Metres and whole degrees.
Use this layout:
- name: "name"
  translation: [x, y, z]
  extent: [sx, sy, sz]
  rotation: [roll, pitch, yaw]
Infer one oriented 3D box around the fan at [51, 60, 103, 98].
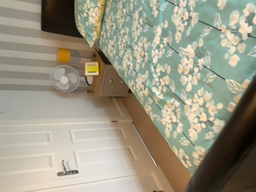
- name: "fan"
  translation: [-0.660, -0.210, 2.700]
  extent: [0.290, 0.560, 0.350]
  rotation: [-118, 38, -46]
